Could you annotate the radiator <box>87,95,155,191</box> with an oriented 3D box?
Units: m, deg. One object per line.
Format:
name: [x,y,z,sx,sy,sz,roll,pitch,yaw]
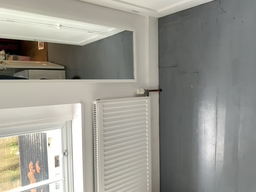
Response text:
radiator: [-0.020,0.650,1.580,0.080,0.530,1.280,2,95,51]
